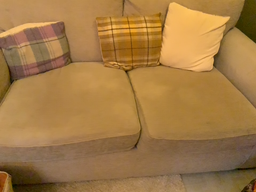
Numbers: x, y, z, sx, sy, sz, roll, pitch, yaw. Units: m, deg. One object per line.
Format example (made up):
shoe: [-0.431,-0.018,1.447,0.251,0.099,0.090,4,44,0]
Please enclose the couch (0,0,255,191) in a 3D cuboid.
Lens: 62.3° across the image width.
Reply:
couch: [0.000,-0.160,1.280,1.750,0.820,1.050,0,42,-9]
